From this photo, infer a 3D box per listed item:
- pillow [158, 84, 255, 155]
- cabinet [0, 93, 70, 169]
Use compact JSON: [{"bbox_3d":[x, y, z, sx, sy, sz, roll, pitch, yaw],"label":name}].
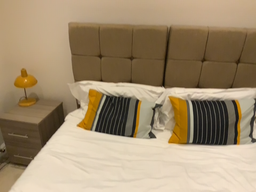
[{"bbox_3d":[0.580,0.190,1.510,0.640,0.350,0.160,-19,38,18],"label":"pillow"},{"bbox_3d":[-0.860,0.310,2.010,0.410,0.510,0.430,5,26,9],"label":"cabinet"}]
